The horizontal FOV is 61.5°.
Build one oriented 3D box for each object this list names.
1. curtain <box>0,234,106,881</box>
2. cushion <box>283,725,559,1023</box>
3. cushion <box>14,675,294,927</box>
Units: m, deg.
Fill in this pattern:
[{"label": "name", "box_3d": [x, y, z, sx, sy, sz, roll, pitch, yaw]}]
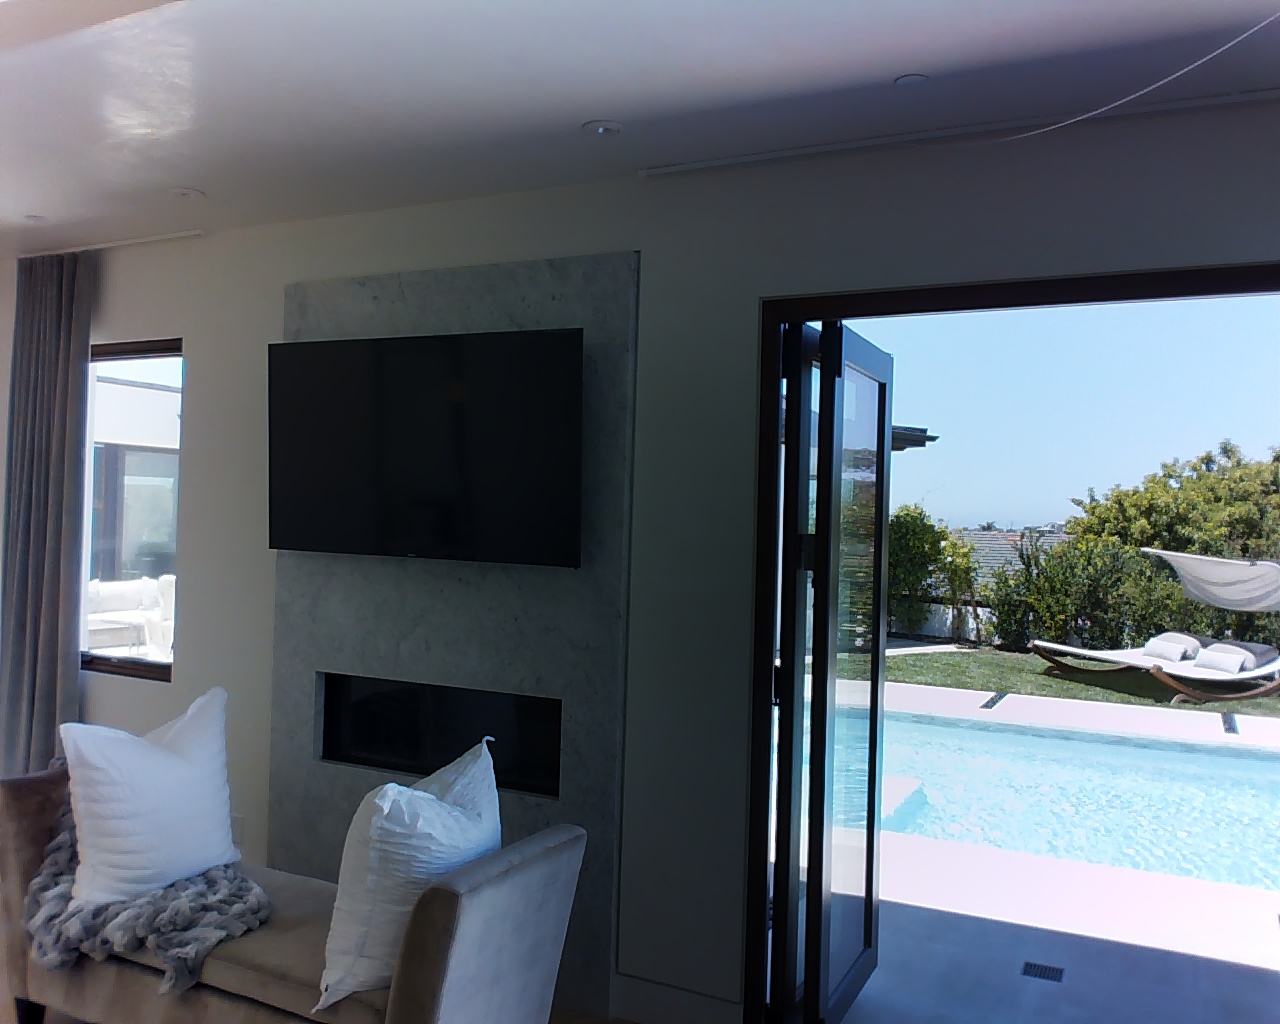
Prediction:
[{"label": "curtain", "box_3d": [-2.720, 0.190, 4.860, 0.550, 2.810, 0.170, 2, 0, 26]}, {"label": "cushion", "box_3d": [-0.580, 0.970, 2.990, 0.400, 0.600, 0.690, 2, 0, 26]}, {"label": "cushion", "box_3d": [-1.550, 0.890, 3.490, 0.450, 0.600, 0.680, 2, 0, 26]}]
